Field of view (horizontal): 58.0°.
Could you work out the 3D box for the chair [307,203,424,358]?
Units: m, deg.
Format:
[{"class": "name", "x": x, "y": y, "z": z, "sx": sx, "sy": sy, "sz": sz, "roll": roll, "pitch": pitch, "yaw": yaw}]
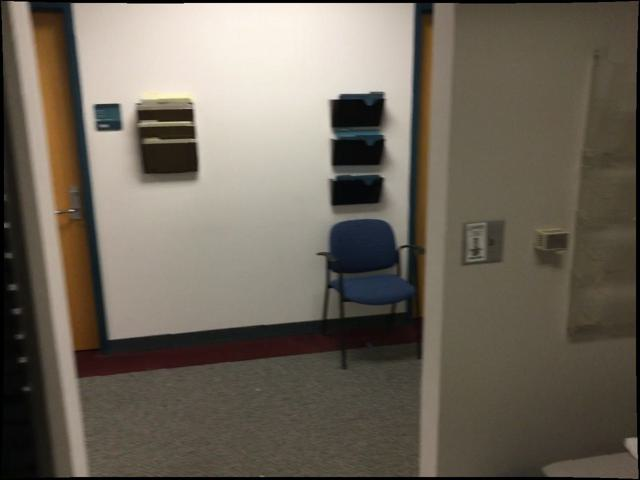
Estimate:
[{"class": "chair", "x": 0.269, "y": 0.221, "z": 3.640, "sx": 0.569, "sy": 0.742, "sz": 0.650, "roll": -6, "pitch": 17, "yaw": -9}]
